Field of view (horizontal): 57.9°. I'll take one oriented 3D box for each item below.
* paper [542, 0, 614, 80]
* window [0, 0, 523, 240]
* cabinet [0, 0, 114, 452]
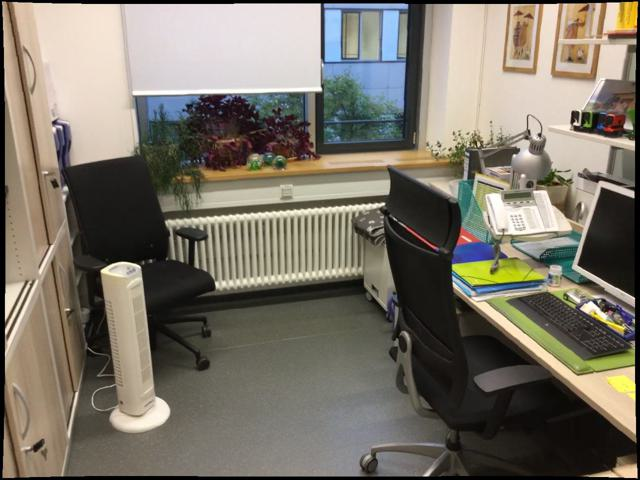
[{"bbox_3d":[1.279,-1.041,2.880,0.060,0.440,0.370,-5,20,-15],"label":"paper"},{"bbox_3d":[-0.330,-1.121,3.270,2.857,1.902,0.690,-5,20,-15],"label":"window"},{"bbox_3d":[-1.189,-0.410,2.560,0.250,2.232,1.250,-5,20,-15],"label":"cabinet"}]
